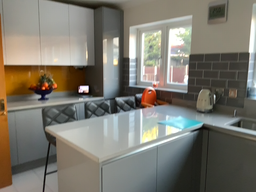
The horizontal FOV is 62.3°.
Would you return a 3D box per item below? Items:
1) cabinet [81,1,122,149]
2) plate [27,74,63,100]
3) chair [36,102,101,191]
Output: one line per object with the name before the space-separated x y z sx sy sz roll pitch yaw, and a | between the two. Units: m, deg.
cabinet | -0.470 -0.330 3.810 0.420 2.400 0.610 -7 11 -42
plate | -1.270 -0.160 3.260 0.410 0.350 0.360 -6 10 -40
chair | -0.570 0.620 2.050 0.400 1.030 0.490 -7 11 -41
